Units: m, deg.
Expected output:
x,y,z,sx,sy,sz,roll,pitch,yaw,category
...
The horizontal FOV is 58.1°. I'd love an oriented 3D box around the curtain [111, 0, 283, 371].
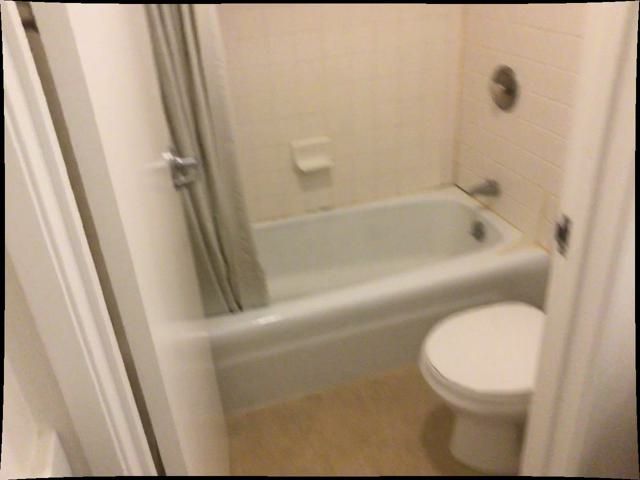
x,y,z,sx,sy,sz,roll,pitch,yaw,category
-0.339,-0.371,1.530,0.280,1.592,0.240,-11,30,-12,curtain
